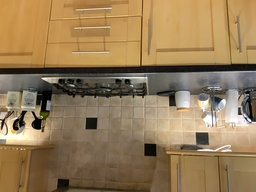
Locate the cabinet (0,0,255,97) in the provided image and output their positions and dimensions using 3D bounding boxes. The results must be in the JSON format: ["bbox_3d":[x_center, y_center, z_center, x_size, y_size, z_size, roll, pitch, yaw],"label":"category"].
[{"bbox_3d":[-0.130,-0.510,1.610,2.710,0.910,0.590,1,169,6],"label":"cabinet"}]
